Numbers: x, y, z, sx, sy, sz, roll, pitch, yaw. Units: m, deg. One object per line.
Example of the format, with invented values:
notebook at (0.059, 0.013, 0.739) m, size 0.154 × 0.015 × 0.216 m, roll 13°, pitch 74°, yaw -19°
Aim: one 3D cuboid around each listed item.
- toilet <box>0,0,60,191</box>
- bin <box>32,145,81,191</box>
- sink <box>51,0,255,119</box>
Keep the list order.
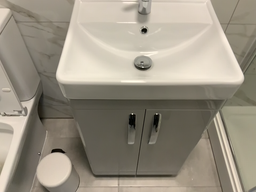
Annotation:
toilet at (-0.650, 0.150, 0.930) m, size 0.390 × 0.840 × 0.640 m, roll 0°, pitch 53°, yaw -2°
bin at (-0.360, 0.400, 1.120) m, size 0.150 × 0.260 × 0.180 m, roll 4°, pitch 53°, yaw 1°
sink at (0.060, -0.150, 0.730) m, size 0.520 × 0.160 × 0.430 m, roll 0°, pitch 53°, yaw -2°
